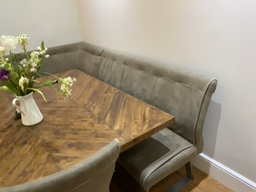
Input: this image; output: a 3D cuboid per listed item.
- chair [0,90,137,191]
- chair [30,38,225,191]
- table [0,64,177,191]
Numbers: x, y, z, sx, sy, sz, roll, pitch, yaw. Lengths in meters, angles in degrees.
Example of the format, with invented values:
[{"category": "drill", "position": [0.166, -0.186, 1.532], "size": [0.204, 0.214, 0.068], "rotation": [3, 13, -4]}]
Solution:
[{"category": "chair", "position": [-0.290, 0.550, 1.070], "size": [0.420, 0.950, 0.580], "rotation": [-19, 30, -30]}, {"category": "chair", "position": [-0.250, 0.040, 2.170], "size": [0.680, 0.910, 2.100], "rotation": [-21, 31, -32]}, {"category": "table", "position": [-0.730, 0.430, 1.620], "size": [1.460, 0.740, 1.540], "rotation": [-22, 31, -33]}]
